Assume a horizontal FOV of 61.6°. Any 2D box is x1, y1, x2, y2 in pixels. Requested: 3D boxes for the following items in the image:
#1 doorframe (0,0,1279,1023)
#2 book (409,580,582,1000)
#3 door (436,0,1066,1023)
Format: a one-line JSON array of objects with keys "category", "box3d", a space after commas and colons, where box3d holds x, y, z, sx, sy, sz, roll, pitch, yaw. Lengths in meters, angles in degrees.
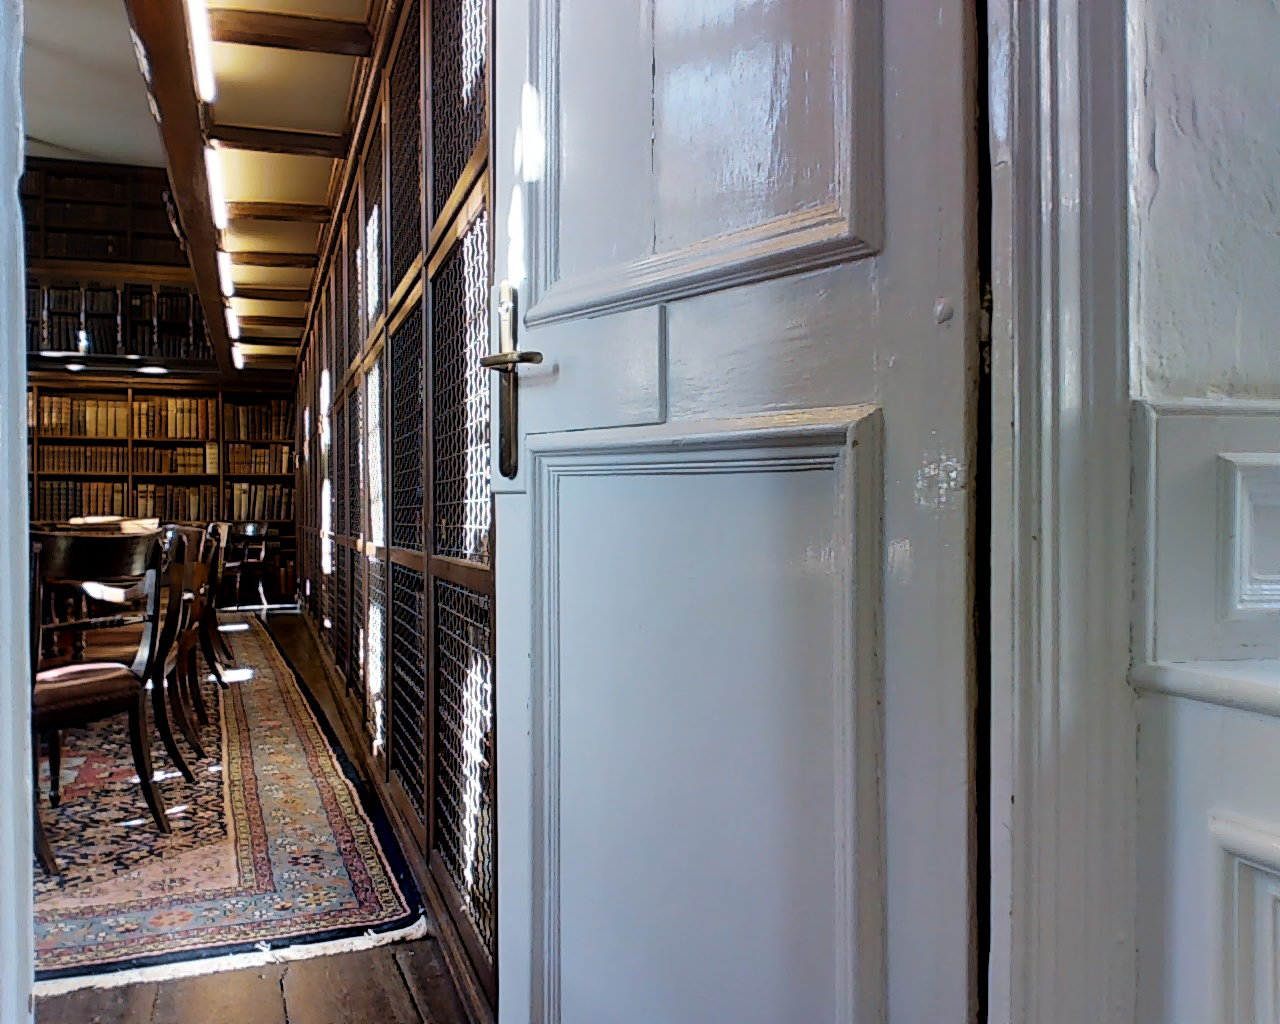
[{"category": "doorframe", "box3d": [0.040, -0.200, 0.680, 0.900, 2.071, 0.300, -1, 0, -24]}, {"category": "book", "box3d": [-0.310, 0.480, 2.120, 0.140, 0.650, 0.710, -1, 0, -23]}, {"category": "door", "box3d": [0.030, -0.240, 1.260, 0.070, 2.231, 0.930, -1, 0, -39]}]
